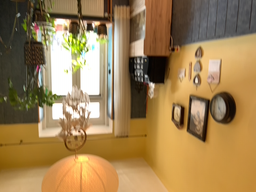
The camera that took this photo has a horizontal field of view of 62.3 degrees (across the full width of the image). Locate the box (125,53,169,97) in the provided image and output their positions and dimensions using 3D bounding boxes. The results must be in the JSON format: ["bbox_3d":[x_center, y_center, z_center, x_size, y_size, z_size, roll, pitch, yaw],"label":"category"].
[{"bbox_3d":[0.280,-0.360,3.500,0.440,0.630,0.800,-1,-171,-16],"label":"box"}]

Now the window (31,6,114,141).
[{"bbox_3d":[-1.030,-0.380,4.100,1.390,2.330,0.530,-1,-171,-16],"label":"window"}]

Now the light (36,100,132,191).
[{"bbox_3d":[-0.350,0.730,1.560,0.530,0.550,1.630,-3,-145,-24],"label":"light"}]
